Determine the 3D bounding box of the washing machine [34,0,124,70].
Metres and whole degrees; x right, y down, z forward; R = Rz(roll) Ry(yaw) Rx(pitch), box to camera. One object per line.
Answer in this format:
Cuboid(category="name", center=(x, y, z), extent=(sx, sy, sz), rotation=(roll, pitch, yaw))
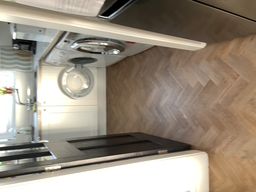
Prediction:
Cuboid(category="washing machine", center=(-0.590, -0.720, 2.550), extent=(0.590, 0.920, 0.670), rotation=(-2, 88, 60))
